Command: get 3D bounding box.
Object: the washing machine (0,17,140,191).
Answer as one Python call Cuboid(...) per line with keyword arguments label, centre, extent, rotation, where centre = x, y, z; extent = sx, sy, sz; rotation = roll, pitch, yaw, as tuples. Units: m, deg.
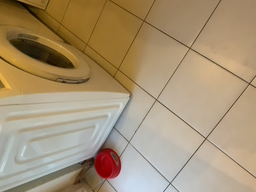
Cuboid(label="washing machine", centre=(-0.520, 0.040, 1.140), extent=(0.620, 0.850, 0.630), rotation=(41, 112, 23))
